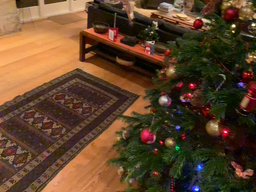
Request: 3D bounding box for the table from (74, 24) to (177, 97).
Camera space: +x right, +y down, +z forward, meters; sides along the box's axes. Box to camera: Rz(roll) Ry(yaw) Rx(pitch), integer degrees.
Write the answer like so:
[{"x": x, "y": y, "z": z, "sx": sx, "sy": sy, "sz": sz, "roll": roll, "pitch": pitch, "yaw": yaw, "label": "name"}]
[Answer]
[{"x": -0.080, "y": -0.560, "z": 3.060, "sx": 1.360, "sy": 0.470, "sz": 0.520, "roll": 26, "pitch": 38, "yaw": 20, "label": "table"}]
